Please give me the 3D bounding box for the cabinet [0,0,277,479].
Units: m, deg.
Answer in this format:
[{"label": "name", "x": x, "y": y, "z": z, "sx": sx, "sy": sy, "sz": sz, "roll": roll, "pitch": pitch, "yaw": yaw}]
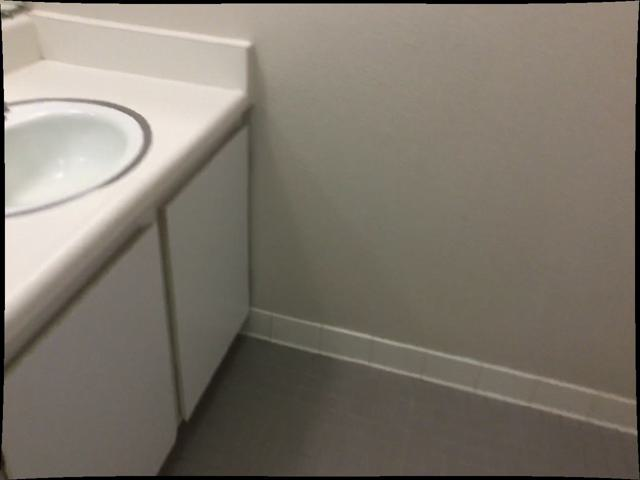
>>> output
[{"label": "cabinet", "x": -0.579, "y": 0.130, "z": 1.180, "sx": 0.629, "sy": 0.911, "sz": 0.970, "roll": 15, "pitch": 34, "yaw": 6}]
